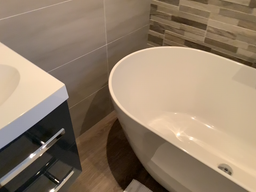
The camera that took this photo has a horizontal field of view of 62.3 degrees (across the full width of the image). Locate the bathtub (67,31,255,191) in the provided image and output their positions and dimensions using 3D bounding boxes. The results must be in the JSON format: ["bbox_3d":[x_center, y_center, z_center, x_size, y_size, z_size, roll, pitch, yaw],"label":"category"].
[{"bbox_3d":[0.550,0.280,1.100,1.580,0.560,0.800,30,48,29],"label":"bathtub"}]
